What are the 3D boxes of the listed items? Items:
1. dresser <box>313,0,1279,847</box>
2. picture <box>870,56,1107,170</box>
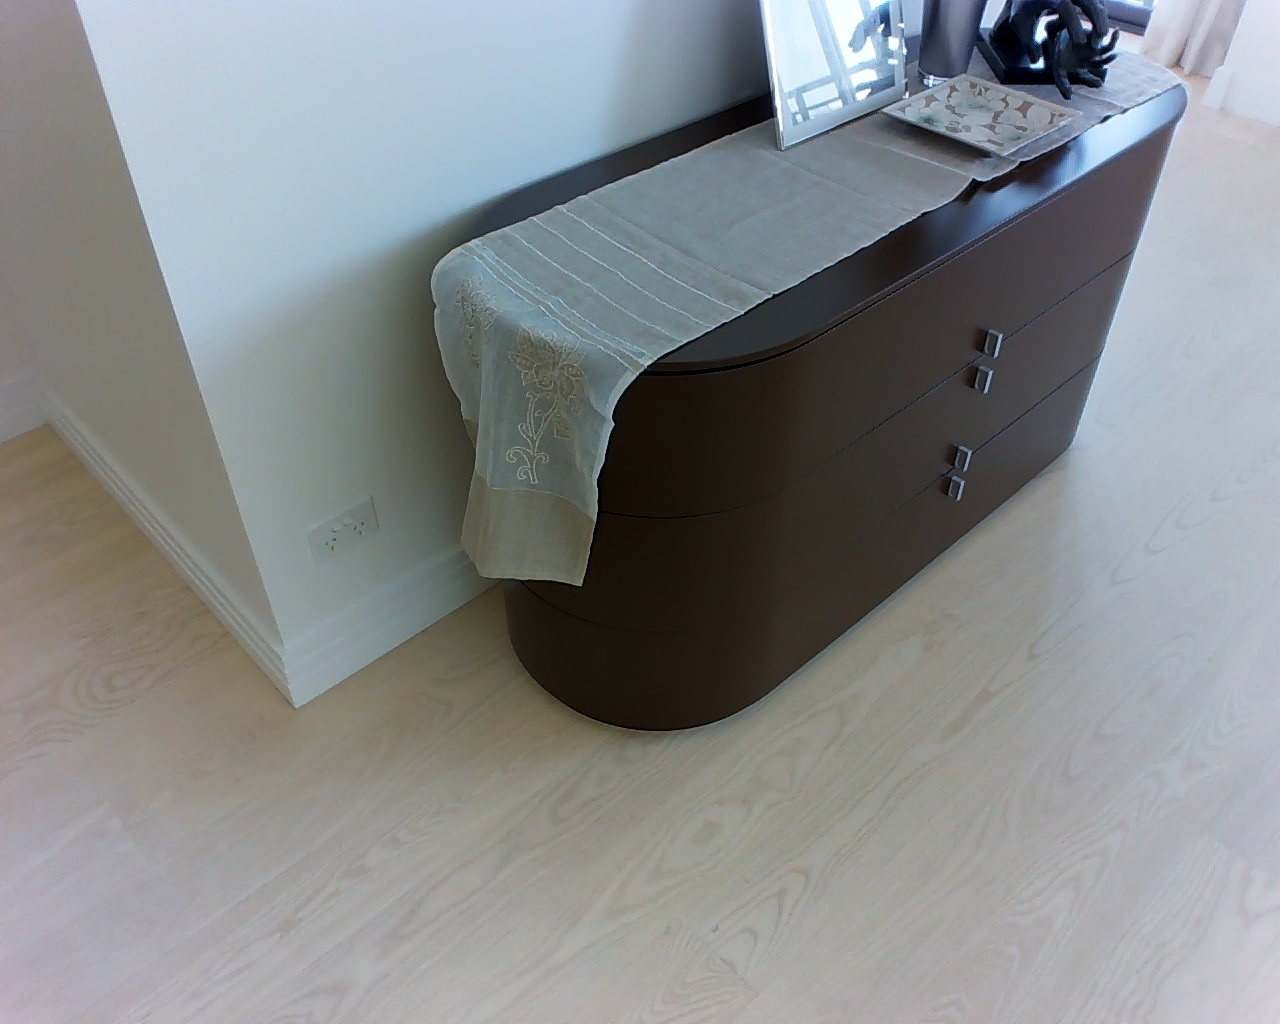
[{"bbox_3d":[0.360,-0.290,1.870,1.600,0.740,0.550,-32,51,-30],"label":"dresser"},{"bbox_3d":[0.550,-0.640,1.710,0.240,0.040,0.270,-32,51,-30],"label":"picture"}]
